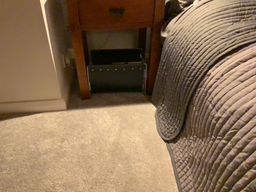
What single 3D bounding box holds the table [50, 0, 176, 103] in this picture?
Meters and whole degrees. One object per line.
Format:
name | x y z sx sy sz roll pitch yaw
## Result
table | -0.090 -0.360 1.310 0.580 0.620 0.450 -4 36 -6
